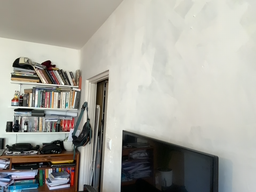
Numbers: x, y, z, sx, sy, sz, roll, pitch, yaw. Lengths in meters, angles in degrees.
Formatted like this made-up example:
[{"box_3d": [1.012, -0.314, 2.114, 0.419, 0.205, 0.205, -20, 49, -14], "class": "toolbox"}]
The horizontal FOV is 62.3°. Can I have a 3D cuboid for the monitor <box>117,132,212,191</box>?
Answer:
[{"box_3d": [0.100, 0.420, 0.990, 0.020, 0.420, 0.720, 5, -5, -25], "class": "monitor"}]
